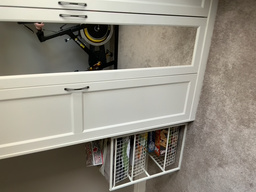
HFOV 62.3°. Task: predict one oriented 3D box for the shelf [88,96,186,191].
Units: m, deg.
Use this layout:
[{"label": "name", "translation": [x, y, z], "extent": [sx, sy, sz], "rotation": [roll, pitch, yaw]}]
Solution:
[{"label": "shelf", "translation": [0.050, 0.410, 1.970], "extent": [0.510, 0.700, 0.600], "rotation": [39, 132, 55]}]
